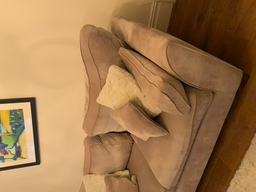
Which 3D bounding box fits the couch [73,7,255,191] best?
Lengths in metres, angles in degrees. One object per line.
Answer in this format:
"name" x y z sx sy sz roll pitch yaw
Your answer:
"couch" 0.060 0.540 2.020 1.040 0.930 2.370 -128 41 -54
